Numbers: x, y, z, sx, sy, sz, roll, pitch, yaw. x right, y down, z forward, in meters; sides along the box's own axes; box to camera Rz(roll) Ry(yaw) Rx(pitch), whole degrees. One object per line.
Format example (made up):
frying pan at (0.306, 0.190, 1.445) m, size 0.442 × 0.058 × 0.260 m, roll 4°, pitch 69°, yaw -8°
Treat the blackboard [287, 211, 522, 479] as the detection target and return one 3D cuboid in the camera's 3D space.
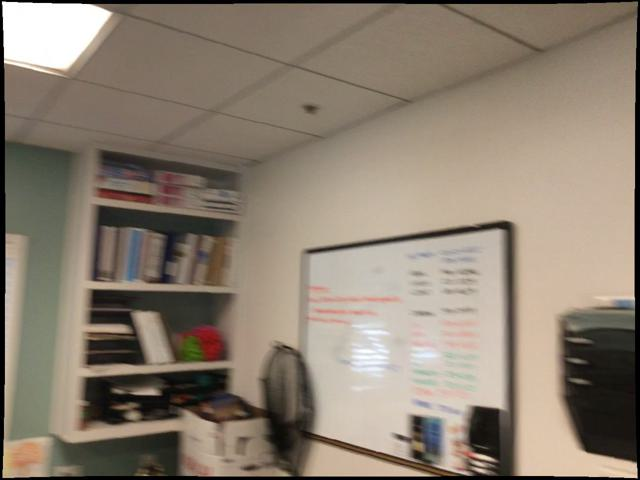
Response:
blackboard at (0.240, 0.410, 2.390) m, size 0.060 × 0.871 × 1.290 m, roll 6°, pitch -10°, yaw -35°
